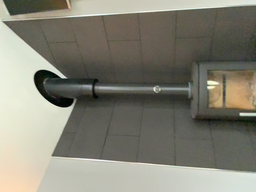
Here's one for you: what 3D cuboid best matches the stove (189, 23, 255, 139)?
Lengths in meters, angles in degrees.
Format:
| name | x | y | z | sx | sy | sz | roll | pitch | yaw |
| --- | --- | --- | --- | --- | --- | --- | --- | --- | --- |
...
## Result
| name | x | y | z | sx | sy | sz | roll | pitch | yaw |
| --- | --- | --- | --- | --- | --- | --- | --- | --- | --- |
| stove | 1.080 | -0.110 | 1.680 | 0.590 | 1.060 | 0.710 | -78 | -16 | -45 |
